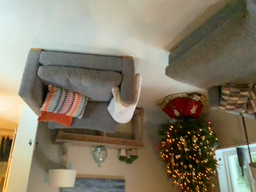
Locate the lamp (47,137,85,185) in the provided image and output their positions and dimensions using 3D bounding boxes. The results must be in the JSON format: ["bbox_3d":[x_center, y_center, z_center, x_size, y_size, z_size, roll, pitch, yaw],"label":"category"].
[{"bbox_3d":[-1.040,1.110,3.570,0.470,0.700,0.520,10,156,-22],"label":"lamp"}]

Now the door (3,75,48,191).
[{"bbox_3d":[-1.620,0.730,3.290,0.090,1.950,0.970,18,152,-37],"label":"door"}]

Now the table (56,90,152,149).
[{"bbox_3d":[-0.410,0.520,4.200,1.790,0.860,0.440,11,156,-24],"label":"table"}]
